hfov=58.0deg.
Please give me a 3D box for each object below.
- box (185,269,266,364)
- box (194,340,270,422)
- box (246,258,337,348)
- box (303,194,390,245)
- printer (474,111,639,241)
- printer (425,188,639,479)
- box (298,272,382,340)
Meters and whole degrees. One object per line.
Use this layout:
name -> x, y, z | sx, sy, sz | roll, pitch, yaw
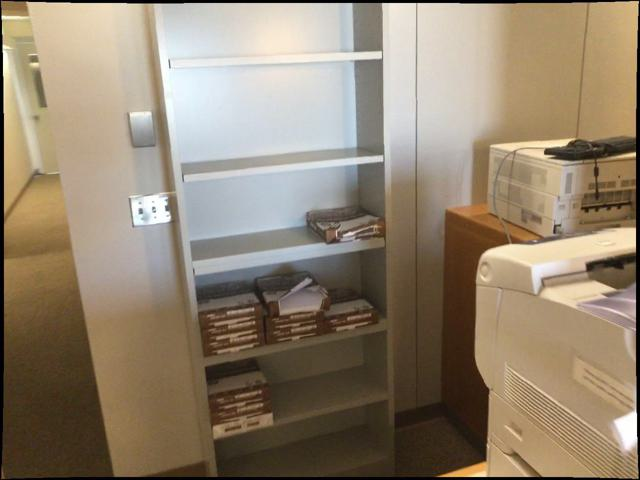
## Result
box -> -0.339, 0.261, 2.050 | 0.210, 0.200, 0.280 | -11, 20, -18
box -> -0.329, 0.511, 2.130 | 0.210, 0.120, 0.290 | -11, 20, -18
box -> -0.110, 0.221, 2.110 | 0.240, 0.180, 0.300 | -11, 20, -18
box -> 0.090, -0.080, 2.100 | 0.220, 0.080, 0.290 | -11, 20, -18
printer -> 0.908, -0.261, 2.090 | 0.449, 0.311, 0.540 | -11, 20, -18
printer -> 0.599, 0.301, 1.080 | 0.529, 0.601, 0.650 | -11, 20, -18
box -> 0.070, 0.241, 2.170 | 0.210, 0.100, 0.310 | -11, 20, -17
